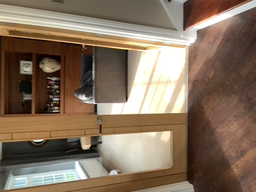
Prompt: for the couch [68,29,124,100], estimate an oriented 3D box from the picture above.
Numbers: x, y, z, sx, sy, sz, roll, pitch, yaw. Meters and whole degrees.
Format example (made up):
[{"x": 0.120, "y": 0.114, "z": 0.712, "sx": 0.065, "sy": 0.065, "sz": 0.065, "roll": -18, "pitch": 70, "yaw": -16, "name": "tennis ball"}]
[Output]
[{"x": -0.700, "y": -0.530, "z": 4.300, "sx": 1.270, "sy": 0.790, "sz": 1.190, "roll": -177, "pitch": 88, "yaw": -66, "name": "couch"}]
